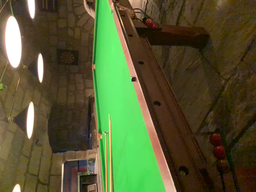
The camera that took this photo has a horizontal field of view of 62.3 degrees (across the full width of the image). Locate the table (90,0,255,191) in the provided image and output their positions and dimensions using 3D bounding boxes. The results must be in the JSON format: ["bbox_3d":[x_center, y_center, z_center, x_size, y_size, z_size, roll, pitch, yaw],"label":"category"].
[{"bbox_3d":[0.150,-0.050,2.260,3.110,0.880,1.730,-105,20,-46],"label":"table"}]
